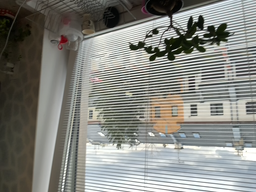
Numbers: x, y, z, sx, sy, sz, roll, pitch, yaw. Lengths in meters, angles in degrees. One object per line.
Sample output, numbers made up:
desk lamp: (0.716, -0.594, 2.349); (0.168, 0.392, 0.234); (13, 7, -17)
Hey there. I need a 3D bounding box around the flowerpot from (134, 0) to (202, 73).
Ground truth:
flowerpot: (0.160, -0.320, 0.860); (0.230, 0.400, 0.160); (-4, 170, 24)
